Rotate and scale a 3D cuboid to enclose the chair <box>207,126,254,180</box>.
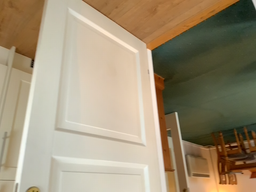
[{"bbox_3d":[1.870,1.070,3.950,0.480,0.860,0.510,-5,155,5],"label":"chair"}]
